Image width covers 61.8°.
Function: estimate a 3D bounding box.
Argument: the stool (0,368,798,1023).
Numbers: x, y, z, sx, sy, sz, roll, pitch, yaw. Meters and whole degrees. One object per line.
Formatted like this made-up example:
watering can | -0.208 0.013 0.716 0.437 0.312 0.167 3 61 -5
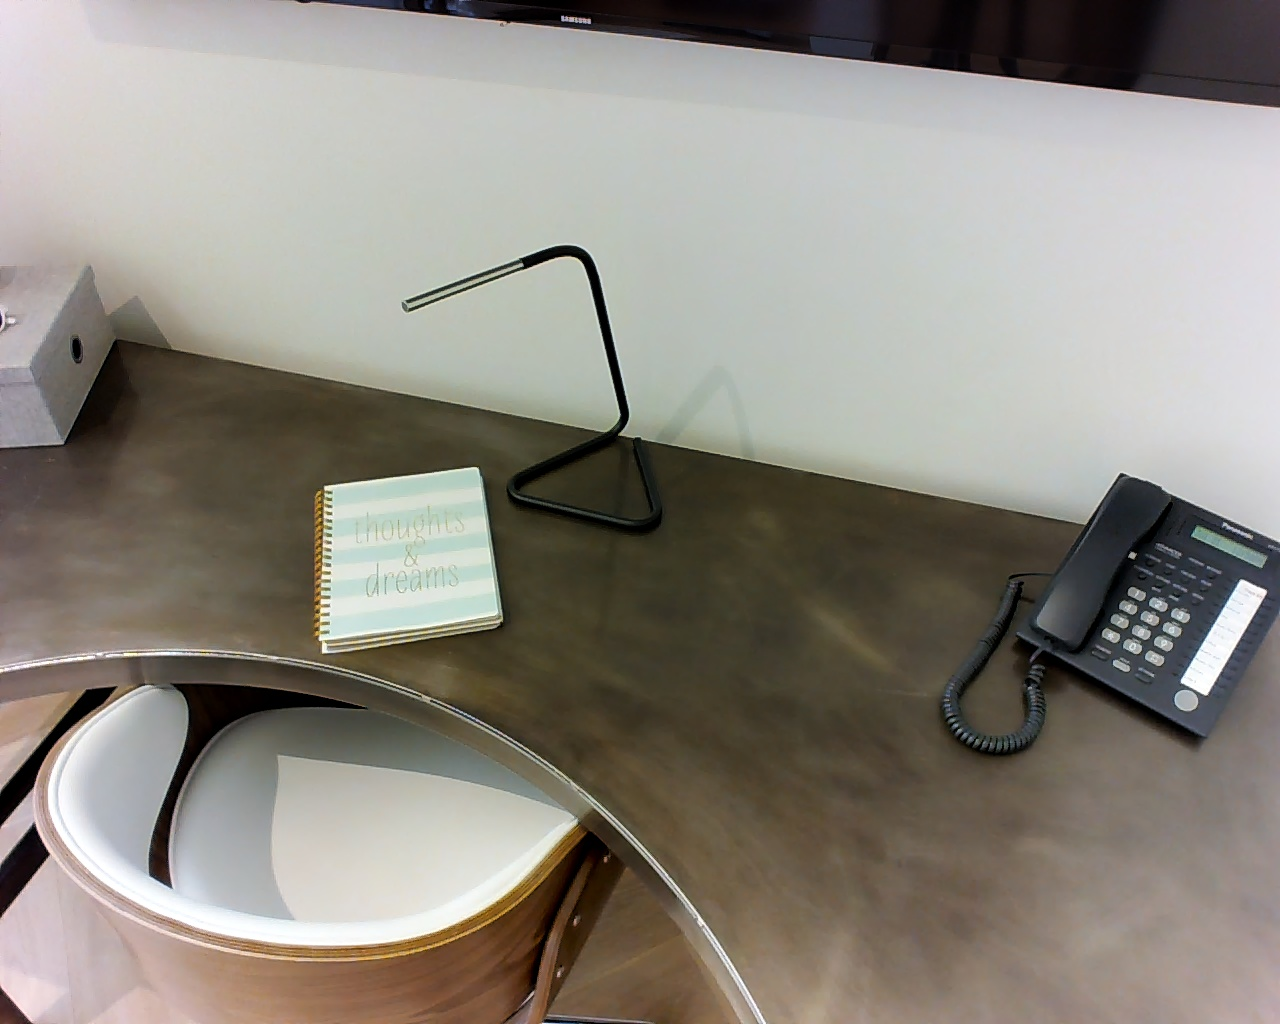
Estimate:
stool | -0.290 0.460 1.340 0.760 0.920 0.710 12 43 13
